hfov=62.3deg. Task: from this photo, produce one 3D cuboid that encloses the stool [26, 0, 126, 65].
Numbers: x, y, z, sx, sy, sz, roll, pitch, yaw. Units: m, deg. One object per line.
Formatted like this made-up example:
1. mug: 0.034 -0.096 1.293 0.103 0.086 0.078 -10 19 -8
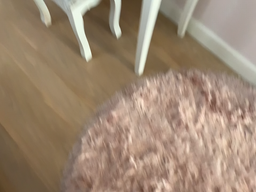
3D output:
1. stool: -0.260 -0.480 1.000 0.410 0.480 0.290 40 72 12
